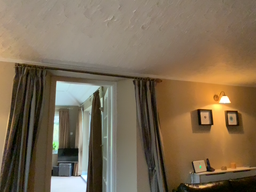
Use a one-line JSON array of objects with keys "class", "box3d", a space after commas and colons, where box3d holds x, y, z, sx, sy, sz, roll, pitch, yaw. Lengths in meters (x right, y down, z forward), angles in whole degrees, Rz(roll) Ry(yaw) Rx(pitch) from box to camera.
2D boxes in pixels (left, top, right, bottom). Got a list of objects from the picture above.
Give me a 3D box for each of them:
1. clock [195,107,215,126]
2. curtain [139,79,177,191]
[{"class": "clock", "box3d": [1.220, 0.330, 3.360, 0.330, 0.300, 0.040, 3, -11, -23]}, {"class": "curtain", "box3d": [0.400, 0.870, 2.820, 0.340, 2.170, 0.320, 2, -11, -18]}]
